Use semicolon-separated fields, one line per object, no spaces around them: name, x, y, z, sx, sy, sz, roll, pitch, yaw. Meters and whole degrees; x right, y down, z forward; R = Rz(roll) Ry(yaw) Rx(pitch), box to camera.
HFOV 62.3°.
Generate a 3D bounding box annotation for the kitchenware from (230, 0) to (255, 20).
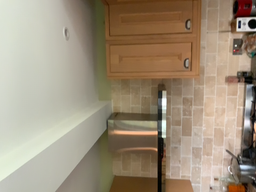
kitchenware;1.020;-0.750;1.800;0.190;0.220;0.170;-61;-29;-76
